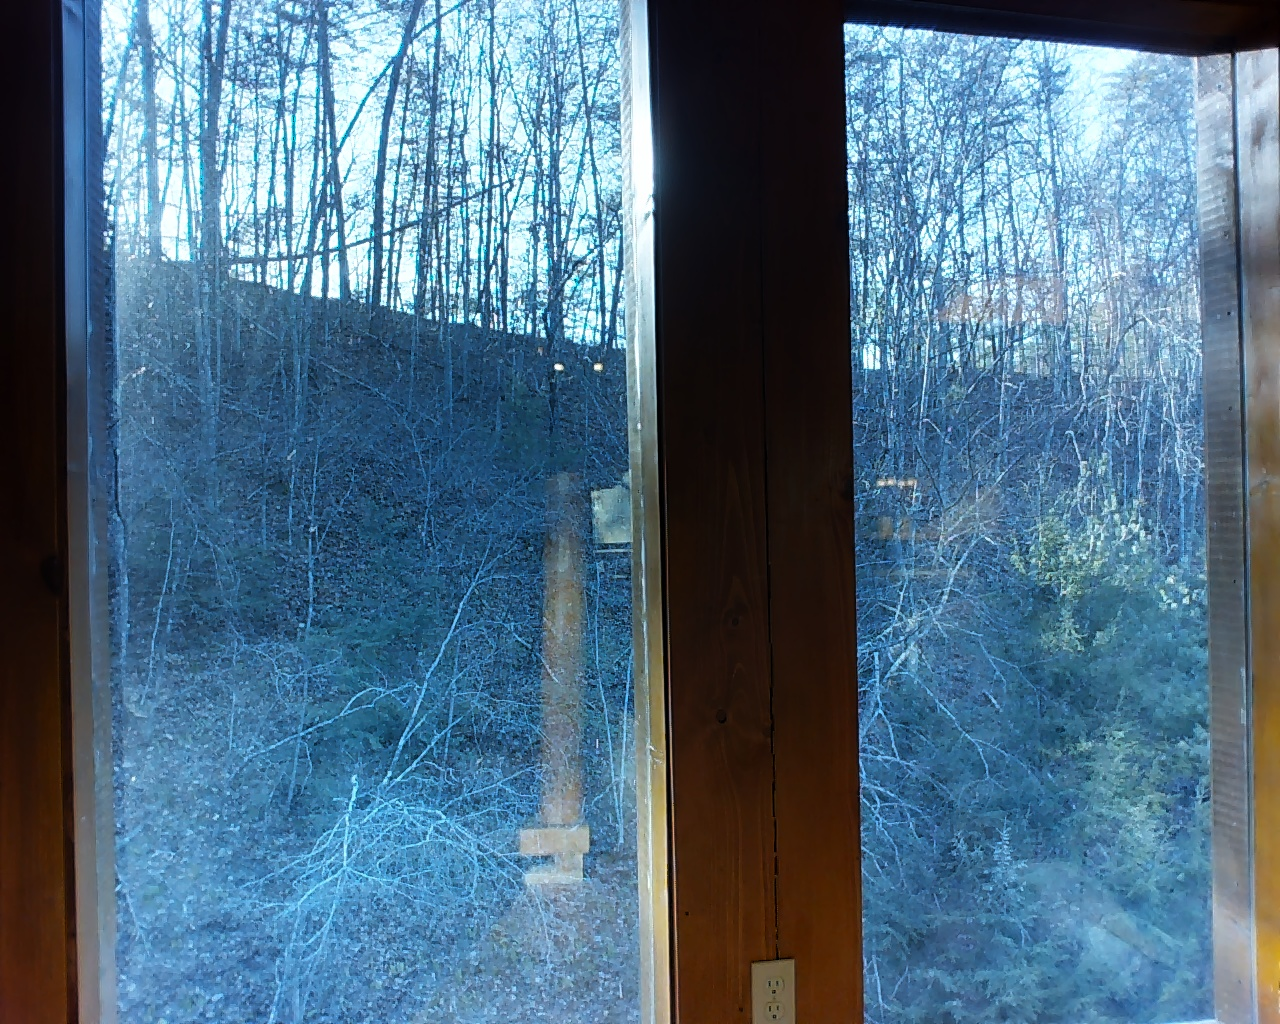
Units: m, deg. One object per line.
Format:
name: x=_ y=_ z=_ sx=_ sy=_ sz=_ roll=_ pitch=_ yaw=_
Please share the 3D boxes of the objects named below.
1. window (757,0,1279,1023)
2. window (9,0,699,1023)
window: x=0.730 y=0.080 z=1.960 sx=0.960 sy=1.971 sz=0.310 roll=0 pitch=0 yaw=-12
window: x=-0.400 y=0.020 z=1.670 sx=0.900 sy=2.051 sz=0.420 roll=0 pitch=0 yaw=-9
